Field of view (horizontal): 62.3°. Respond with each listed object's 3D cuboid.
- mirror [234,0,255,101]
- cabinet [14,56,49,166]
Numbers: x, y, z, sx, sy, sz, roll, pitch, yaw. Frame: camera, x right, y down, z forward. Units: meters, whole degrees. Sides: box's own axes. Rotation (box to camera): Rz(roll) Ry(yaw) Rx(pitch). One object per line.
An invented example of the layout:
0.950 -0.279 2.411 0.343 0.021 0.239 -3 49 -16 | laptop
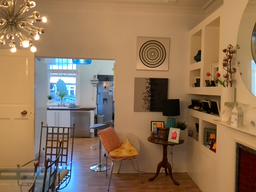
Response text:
1.270 -0.510 1.800 0.070 1.140 1.190 1 3 -2 | mirror
-2.040 0.270 4.590 0.350 2.120 1.030 1 3 -4 | cabinet
